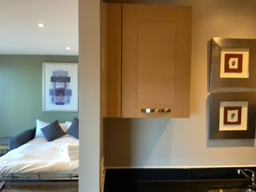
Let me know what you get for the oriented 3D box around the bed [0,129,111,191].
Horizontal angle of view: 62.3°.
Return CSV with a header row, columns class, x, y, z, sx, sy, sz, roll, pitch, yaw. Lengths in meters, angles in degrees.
class,x,y,z,sx,sy,sz,roll,pitch,yaw
bed,-1.150,1.150,3.860,1.590,0.640,2.140,0,3,-3
